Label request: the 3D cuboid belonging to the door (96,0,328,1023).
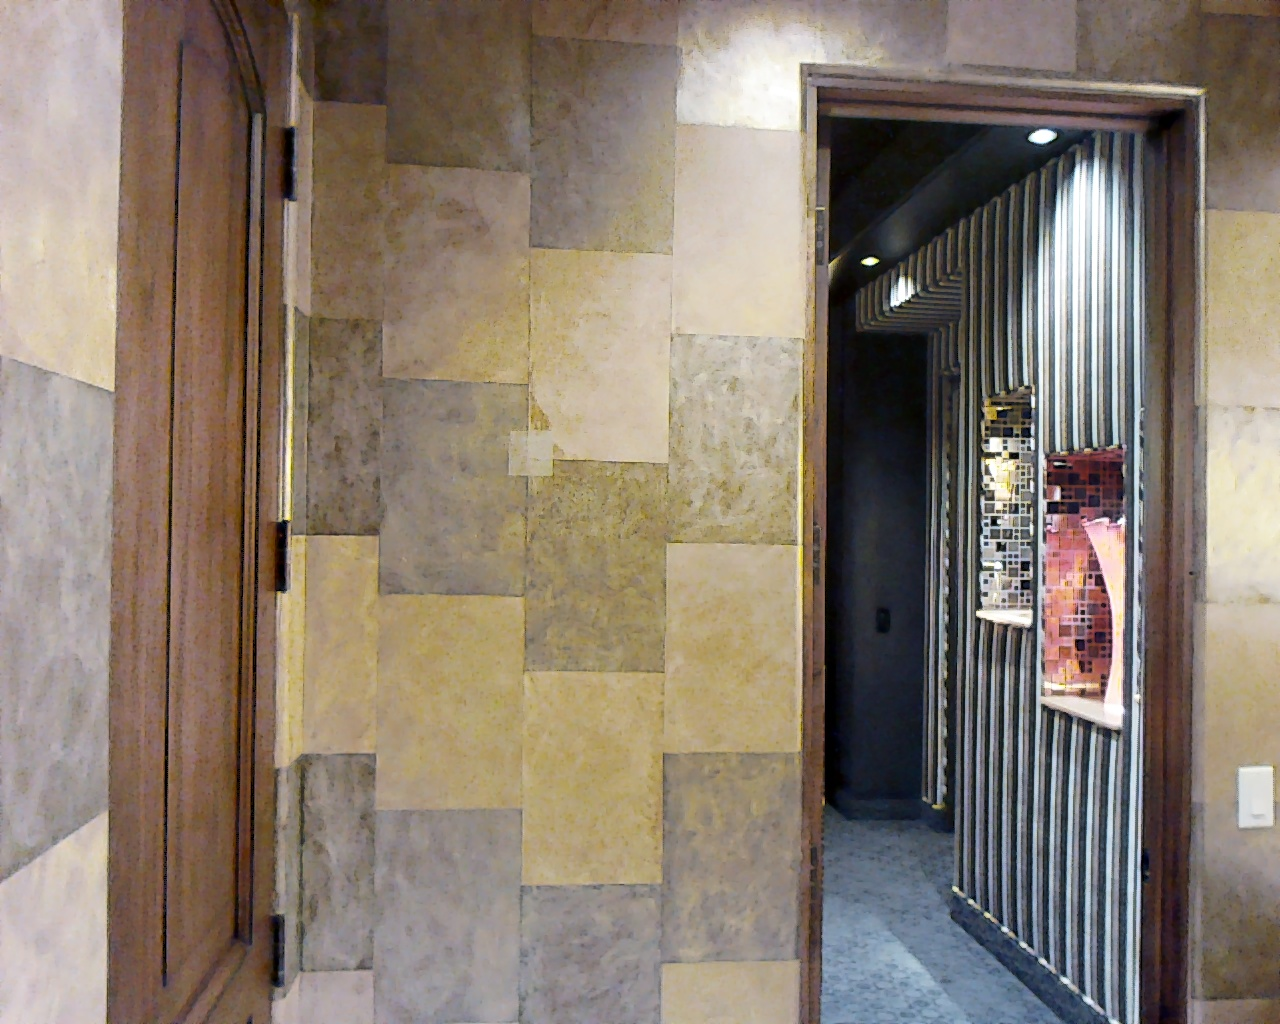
[{"bbox_3d":[-0.520,0.410,1.380,0.080,2.390,0.700,1,0,-6],"label":"door"}]
